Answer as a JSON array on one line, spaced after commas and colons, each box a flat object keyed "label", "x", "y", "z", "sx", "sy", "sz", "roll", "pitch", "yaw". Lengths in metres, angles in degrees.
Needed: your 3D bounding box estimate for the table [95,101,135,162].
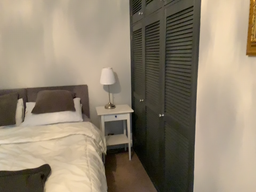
[{"label": "table", "x": -0.190, "y": 0.470, "z": 2.940, "sx": 0.480, "sy": 0.700, "sz": 0.390, "roll": -4, "pitch": 12, "yaw": -12}]
